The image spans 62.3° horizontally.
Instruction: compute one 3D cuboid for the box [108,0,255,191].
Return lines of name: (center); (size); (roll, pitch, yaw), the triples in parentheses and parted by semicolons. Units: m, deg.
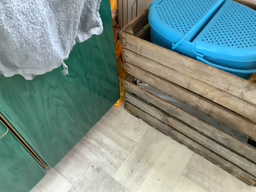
box: (0.310, -0.080, 0.770); (0.650, 0.550, 0.350); (31, 59, 24)
